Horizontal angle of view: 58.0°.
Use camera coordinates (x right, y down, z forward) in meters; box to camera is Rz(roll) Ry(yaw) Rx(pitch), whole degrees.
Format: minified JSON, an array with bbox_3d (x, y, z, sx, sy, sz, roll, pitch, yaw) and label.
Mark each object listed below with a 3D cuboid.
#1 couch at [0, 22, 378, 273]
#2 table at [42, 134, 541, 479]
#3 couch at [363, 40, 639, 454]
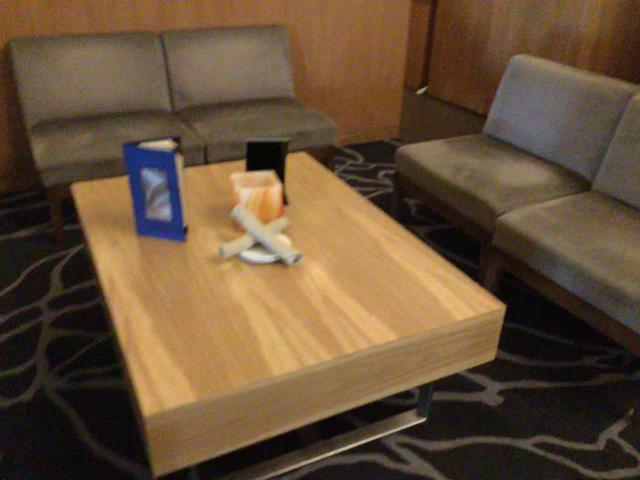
[{"bbox_3d":[-0.700,-0.570,2.840,1.710,0.780,0.860,-13,32,-27],"label":"couch"},{"bbox_3d":[-0.240,0.150,1.830,1.030,0.470,1.370,-11,31,-23],"label":"table"},{"bbox_3d":[0.920,-0.180,2.210,0.780,0.830,1.580,-11,31,-23],"label":"couch"}]
